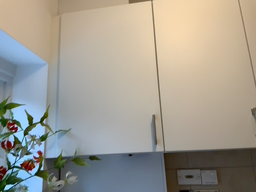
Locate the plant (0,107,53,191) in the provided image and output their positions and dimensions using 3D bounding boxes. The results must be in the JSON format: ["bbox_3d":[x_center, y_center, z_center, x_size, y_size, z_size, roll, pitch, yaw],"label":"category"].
[{"bbox_3d":[-0.570,0.430,0.920,0.260,0.690,0.430,-4,-14,8],"label":"plant"}]
